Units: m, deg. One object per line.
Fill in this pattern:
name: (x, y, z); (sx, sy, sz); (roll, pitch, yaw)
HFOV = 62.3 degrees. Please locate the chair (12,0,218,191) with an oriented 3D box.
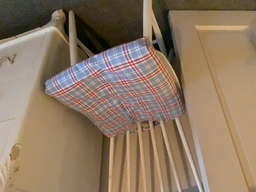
chair: (0.020, -0.020, 0.850); (0.400, 0.780, 0.540); (-17, 141, 21)
